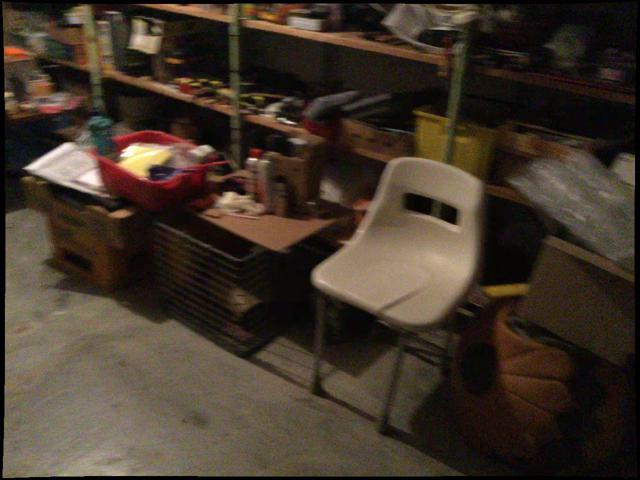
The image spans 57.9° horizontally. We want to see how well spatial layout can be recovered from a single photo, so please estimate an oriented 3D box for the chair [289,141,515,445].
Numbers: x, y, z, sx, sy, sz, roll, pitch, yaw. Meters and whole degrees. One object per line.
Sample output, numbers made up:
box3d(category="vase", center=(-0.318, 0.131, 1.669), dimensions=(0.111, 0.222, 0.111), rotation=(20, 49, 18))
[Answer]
box3d(category="chair", center=(0.240, 0.140, 1.850), dimensions=(0.470, 0.701, 0.500), rotation=(21, 36, 28))
